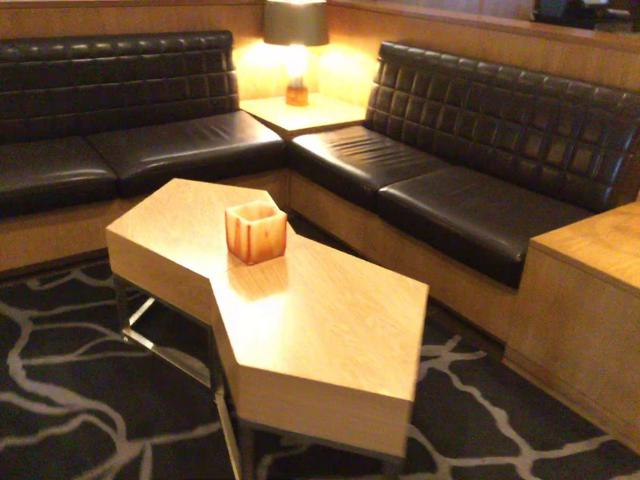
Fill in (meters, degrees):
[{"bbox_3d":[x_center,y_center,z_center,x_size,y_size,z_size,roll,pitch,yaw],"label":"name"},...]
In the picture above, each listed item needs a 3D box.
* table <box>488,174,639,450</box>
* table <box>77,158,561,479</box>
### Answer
[{"bbox_3d":[1.170,0.220,1.910,0.780,0.550,0.790,-15,31,-33],"label":"table"},{"bbox_3d":[-0.150,0.220,1.950,0.830,0.480,1.510,-15,31,-32],"label":"table"}]
